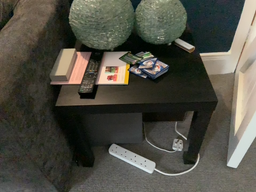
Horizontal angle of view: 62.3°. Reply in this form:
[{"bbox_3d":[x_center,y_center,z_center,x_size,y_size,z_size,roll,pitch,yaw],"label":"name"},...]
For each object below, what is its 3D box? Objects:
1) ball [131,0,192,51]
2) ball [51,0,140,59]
[{"bbox_3d":[0.130,-0.340,0.910,0.220,0.190,0.230,0,45,4],"label":"ball"},{"bbox_3d":[-0.110,-0.330,0.880,0.300,0.230,0.240,-4,45,1],"label":"ball"}]
